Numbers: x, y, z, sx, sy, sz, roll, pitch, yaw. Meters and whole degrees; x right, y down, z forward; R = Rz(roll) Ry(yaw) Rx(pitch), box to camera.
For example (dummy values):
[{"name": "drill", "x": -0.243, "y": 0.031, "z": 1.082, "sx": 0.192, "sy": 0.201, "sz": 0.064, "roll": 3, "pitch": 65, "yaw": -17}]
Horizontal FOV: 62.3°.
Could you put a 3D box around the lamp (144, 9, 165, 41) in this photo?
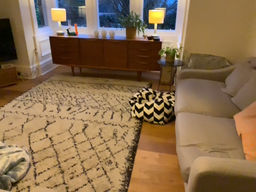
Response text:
[{"name": "lamp", "x": 0.480, "y": -1.280, "z": 3.800, "sx": 0.300, "sy": 0.500, "sz": 0.300, "roll": 7, "pitch": 25, "yaw": 12}]

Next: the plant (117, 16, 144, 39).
[{"name": "plant", "x": 0.050, "y": -1.270, "z": 3.920, "sx": 0.430, "sy": 0.340, "sz": 0.340, "roll": 6, "pitch": 25, "yaw": 10}]
